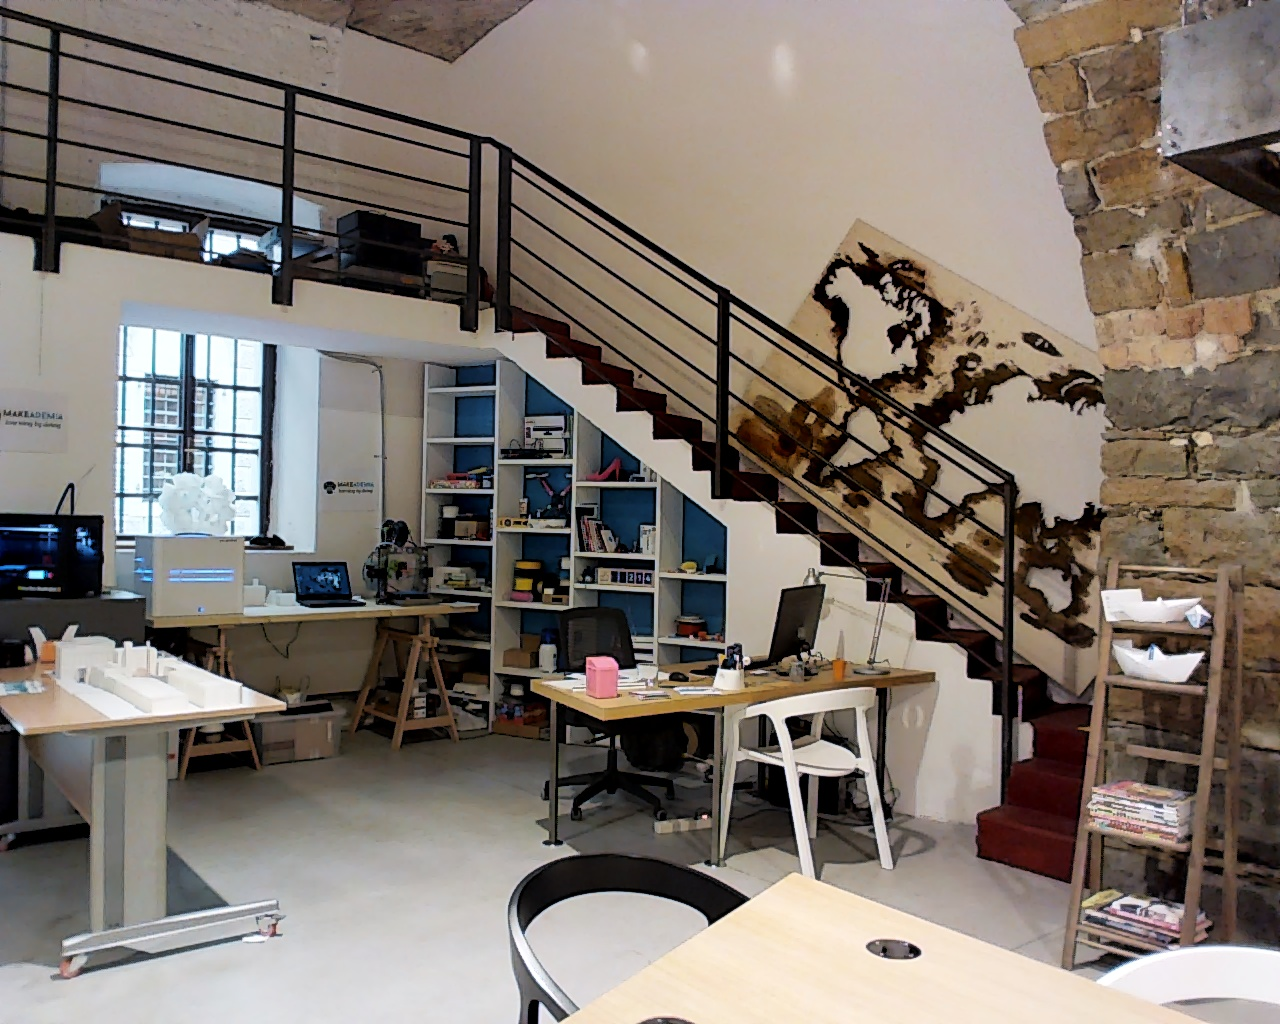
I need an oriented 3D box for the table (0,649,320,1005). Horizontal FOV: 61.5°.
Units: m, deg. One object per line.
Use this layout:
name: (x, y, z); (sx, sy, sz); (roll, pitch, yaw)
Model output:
table: (-1.979, 1.050, 4.120); (0.890, 0.810, 1.690); (1, 0, -37)
